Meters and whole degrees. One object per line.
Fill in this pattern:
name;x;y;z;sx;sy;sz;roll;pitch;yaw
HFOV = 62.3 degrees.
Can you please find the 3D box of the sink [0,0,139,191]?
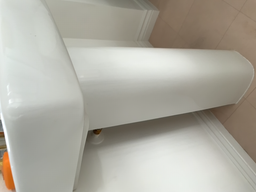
sink;-0.230;-0.040;0.520;0.560;0.140;0.430;58;141;36
